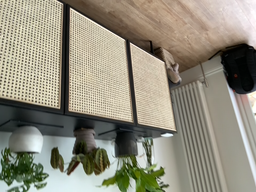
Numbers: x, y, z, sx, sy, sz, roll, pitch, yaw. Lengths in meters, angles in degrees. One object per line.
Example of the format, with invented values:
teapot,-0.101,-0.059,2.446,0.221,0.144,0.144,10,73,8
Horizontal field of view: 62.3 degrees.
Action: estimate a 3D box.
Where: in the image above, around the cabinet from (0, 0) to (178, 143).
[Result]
cabinet,-0.340,-0.200,1.420,0.460,0.880,1.530,-24,153,38
